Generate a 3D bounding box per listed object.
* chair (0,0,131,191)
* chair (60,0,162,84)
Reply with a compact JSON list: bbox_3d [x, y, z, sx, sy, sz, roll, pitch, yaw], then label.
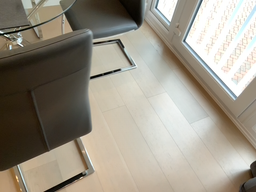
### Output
[{"bbox_3d":[-0.410,0.030,0.910,0.460,1.020,0.570,-21,59,-25],"label":"chair"},{"bbox_3d":[-0.150,-0.650,1.490,0.550,1.020,0.480,-14,57,-21],"label":"chair"}]
